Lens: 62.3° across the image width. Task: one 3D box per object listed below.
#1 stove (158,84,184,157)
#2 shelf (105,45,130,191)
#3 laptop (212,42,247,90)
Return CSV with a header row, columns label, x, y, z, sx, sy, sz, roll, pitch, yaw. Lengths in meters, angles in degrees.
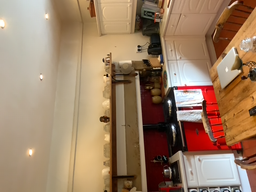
label,x,y,z,sx,sy,sz,roll,pitch,yaw
stove,0.650,0.410,3.360,0.690,0.120,0.990,96,171,-67
shelf,-0.180,0.290,3.160,0.370,0.290,2.200,97,170,-69
laptop,0.830,-0.240,1.770,0.360,0.060,0.230,95,172,-64
